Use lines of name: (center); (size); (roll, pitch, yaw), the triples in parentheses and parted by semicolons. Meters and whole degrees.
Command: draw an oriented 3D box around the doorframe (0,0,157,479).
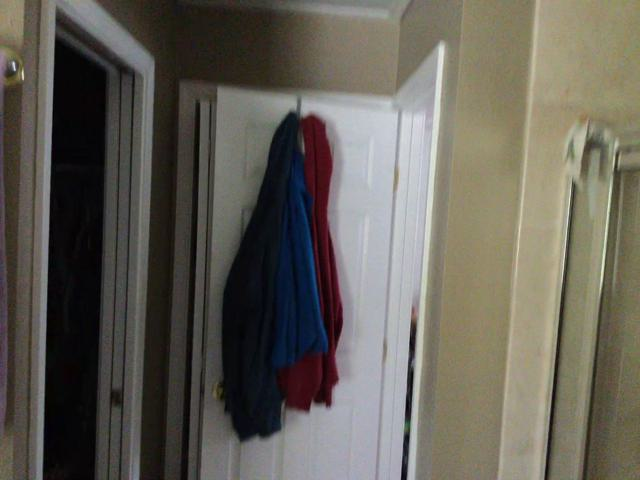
doorframe: (-0.660, 0.410, 1.640); (0.160, 2.080, 1.000); (2, 2, -6)

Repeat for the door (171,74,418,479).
door: (-0.120, 0.430, 2.320); (0.880, 2.040, 0.280); (2, 2, -9)

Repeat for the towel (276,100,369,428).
towel: (0.000, 0.090, 2.210); (0.270, 1.170, 0.260); (2, 2, -9)

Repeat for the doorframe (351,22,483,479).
doorframe: (0.290, 0.420, 2.090); (0.200, 2.080, 0.890); (2, 2, -4)

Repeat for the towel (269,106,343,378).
towel: (-0.060, 0.010, 2.150); (0.210, 0.950, 0.230); (2, 2, -9)

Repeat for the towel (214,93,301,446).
towel: (-0.230, 0.110, 2.080); (0.260, 1.220, 0.120); (2, 2, -12)
